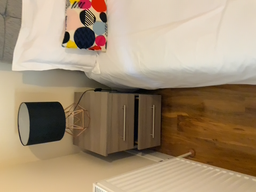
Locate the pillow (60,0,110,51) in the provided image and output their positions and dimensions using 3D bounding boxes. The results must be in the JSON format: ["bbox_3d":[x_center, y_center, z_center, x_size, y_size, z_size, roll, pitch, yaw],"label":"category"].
[{"bbox_3d":[-0.250,-0.580,1.270,0.100,0.270,0.570,178,94,-66],"label":"pillow"}]
